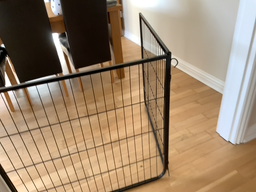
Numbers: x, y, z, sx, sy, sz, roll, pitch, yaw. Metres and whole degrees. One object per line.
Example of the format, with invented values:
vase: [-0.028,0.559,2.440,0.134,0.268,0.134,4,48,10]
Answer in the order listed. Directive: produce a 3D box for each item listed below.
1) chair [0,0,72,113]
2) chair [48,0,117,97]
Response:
chair: [-0.950,-0.480,2.030,0.460,1.030,0.620,-18,35,-19]
chair: [-0.480,-0.630,2.190,0.420,1.030,0.620,-18,35,-19]
